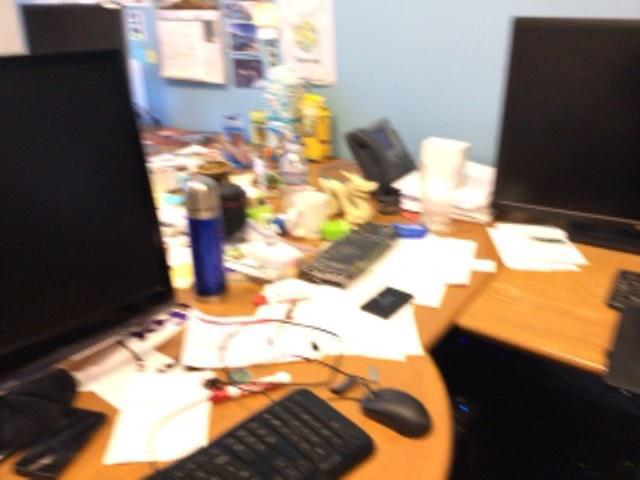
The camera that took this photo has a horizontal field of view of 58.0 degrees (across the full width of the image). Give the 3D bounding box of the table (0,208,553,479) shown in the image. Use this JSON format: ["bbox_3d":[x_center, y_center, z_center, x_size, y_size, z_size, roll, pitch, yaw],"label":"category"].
[{"bbox_3d":[-0.150,0.210,0.810,0.670,0.160,0.880,12,27,33],"label":"table"}]
